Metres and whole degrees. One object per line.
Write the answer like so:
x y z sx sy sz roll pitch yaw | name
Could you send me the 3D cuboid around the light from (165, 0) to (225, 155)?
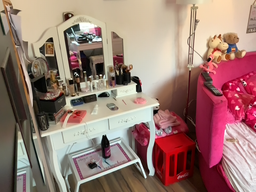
0.580 -0.260 1.990 0.240 1.660 0.400 -11 25 -18 | light
